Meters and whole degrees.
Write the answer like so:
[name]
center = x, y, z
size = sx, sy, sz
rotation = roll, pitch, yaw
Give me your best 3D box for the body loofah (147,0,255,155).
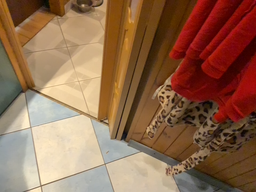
[body loofah]
center = 0.270, -0.190, 0.270
size = 0.260, 0.810, 0.170
rotation = 29, 57, 9
